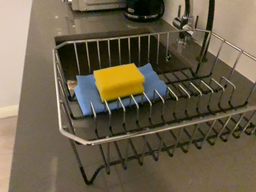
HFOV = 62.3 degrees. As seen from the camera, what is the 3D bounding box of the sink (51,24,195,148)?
[{"bbox_3d":[-0.050,-0.070,0.770,0.390,0.230,0.370,-10,39,-14],"label":"sink"}]
